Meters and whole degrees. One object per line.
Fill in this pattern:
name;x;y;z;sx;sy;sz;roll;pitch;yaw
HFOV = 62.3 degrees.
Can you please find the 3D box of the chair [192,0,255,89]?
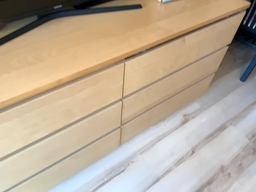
chair;1.070;-0.690;1.720;0.620;1.010;0.530;-33;59;-29
